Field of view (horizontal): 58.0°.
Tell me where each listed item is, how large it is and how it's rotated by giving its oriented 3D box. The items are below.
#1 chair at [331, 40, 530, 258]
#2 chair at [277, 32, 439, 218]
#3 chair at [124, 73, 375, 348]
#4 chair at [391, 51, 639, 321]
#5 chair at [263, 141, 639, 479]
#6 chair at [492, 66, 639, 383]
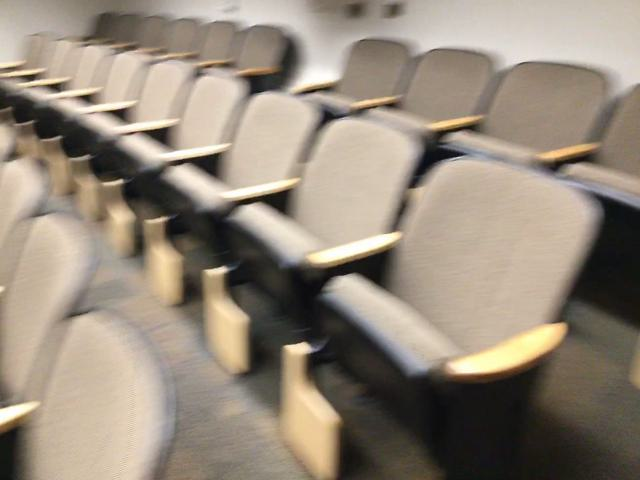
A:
[{"bbox_3d":[0.470,-0.450,2.630,0.550,0.810,0.560,-16,31,-37],"label":"chair"},{"bbox_3d":[0.170,-0.620,2.960,0.540,0.790,0.530,-16,31,-37],"label":"chair"},{"bbox_3d":[-0.310,-0.150,2.250,0.600,0.810,0.660,-5,24,-40],"label":"chair"},{"bbox_3d":[0.740,-0.260,2.260,0.530,0.830,0.640,-16,31,-37],"label":"chair"},{"bbox_3d":[0.270,0.250,1.400,0.540,0.800,0.620,-12,29,-34],"label":"chair"},{"bbox_3d":[1.040,-0.090,1.880,0.540,0.820,0.580,-16,31,-37],"label":"chair"}]
